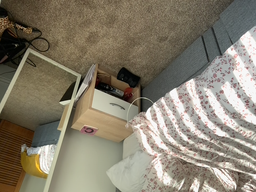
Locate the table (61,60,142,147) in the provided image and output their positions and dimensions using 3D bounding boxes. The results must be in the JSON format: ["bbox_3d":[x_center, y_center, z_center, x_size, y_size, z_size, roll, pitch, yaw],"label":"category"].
[{"bbox_3d":[-0.190,0.080,1.590,0.410,0.390,0.420,23,138,-26],"label":"table"}]
